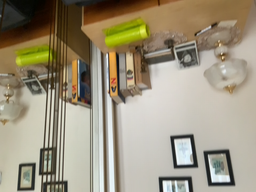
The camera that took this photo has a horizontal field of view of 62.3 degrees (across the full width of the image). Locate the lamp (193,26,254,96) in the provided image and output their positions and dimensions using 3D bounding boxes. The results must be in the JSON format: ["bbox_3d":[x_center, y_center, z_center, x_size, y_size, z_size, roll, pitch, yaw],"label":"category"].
[{"bbox_3d":[0.510,-0.180,1.180,0.240,0.290,0.200,-8,162,16],"label":"lamp"}]

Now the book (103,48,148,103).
[{"bbox_3d":[-0.010,-0.120,1.360,0.220,0.250,0.250,-7,163,13],"label":"book"}]

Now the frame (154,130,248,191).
[{"bbox_3d":[0.390,0.390,1.200,0.450,0.340,0.070,-9,162,16],"label":"frame"}]
